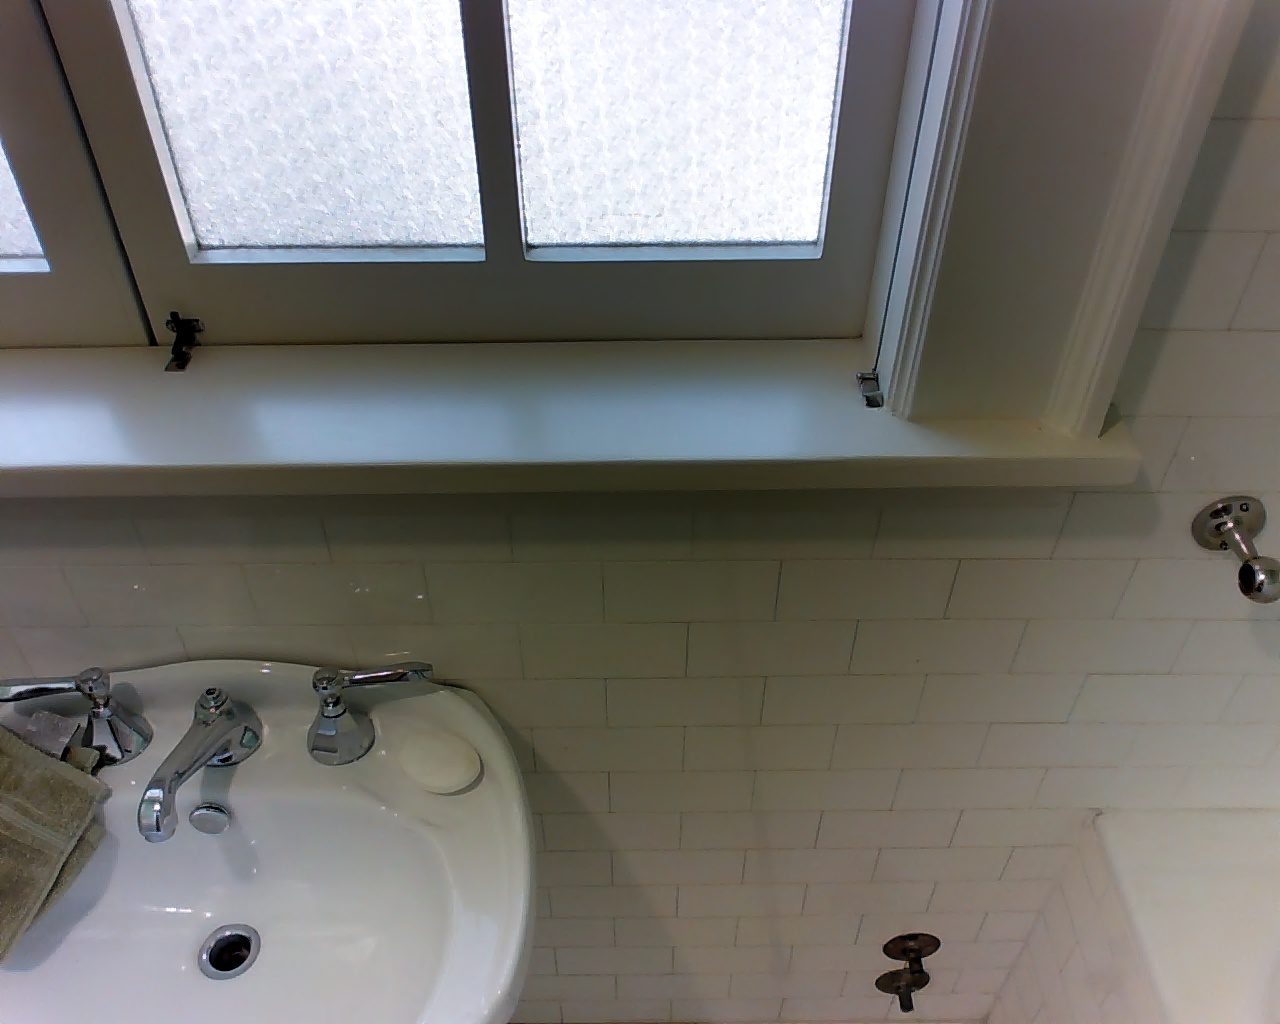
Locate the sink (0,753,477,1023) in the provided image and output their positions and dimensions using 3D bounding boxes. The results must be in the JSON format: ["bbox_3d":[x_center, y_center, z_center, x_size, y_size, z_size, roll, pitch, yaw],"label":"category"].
[{"bbox_3d":[-0.370,0.380,0.890,0.430,0.160,0.300,-2,42,-1],"label":"sink"}]
